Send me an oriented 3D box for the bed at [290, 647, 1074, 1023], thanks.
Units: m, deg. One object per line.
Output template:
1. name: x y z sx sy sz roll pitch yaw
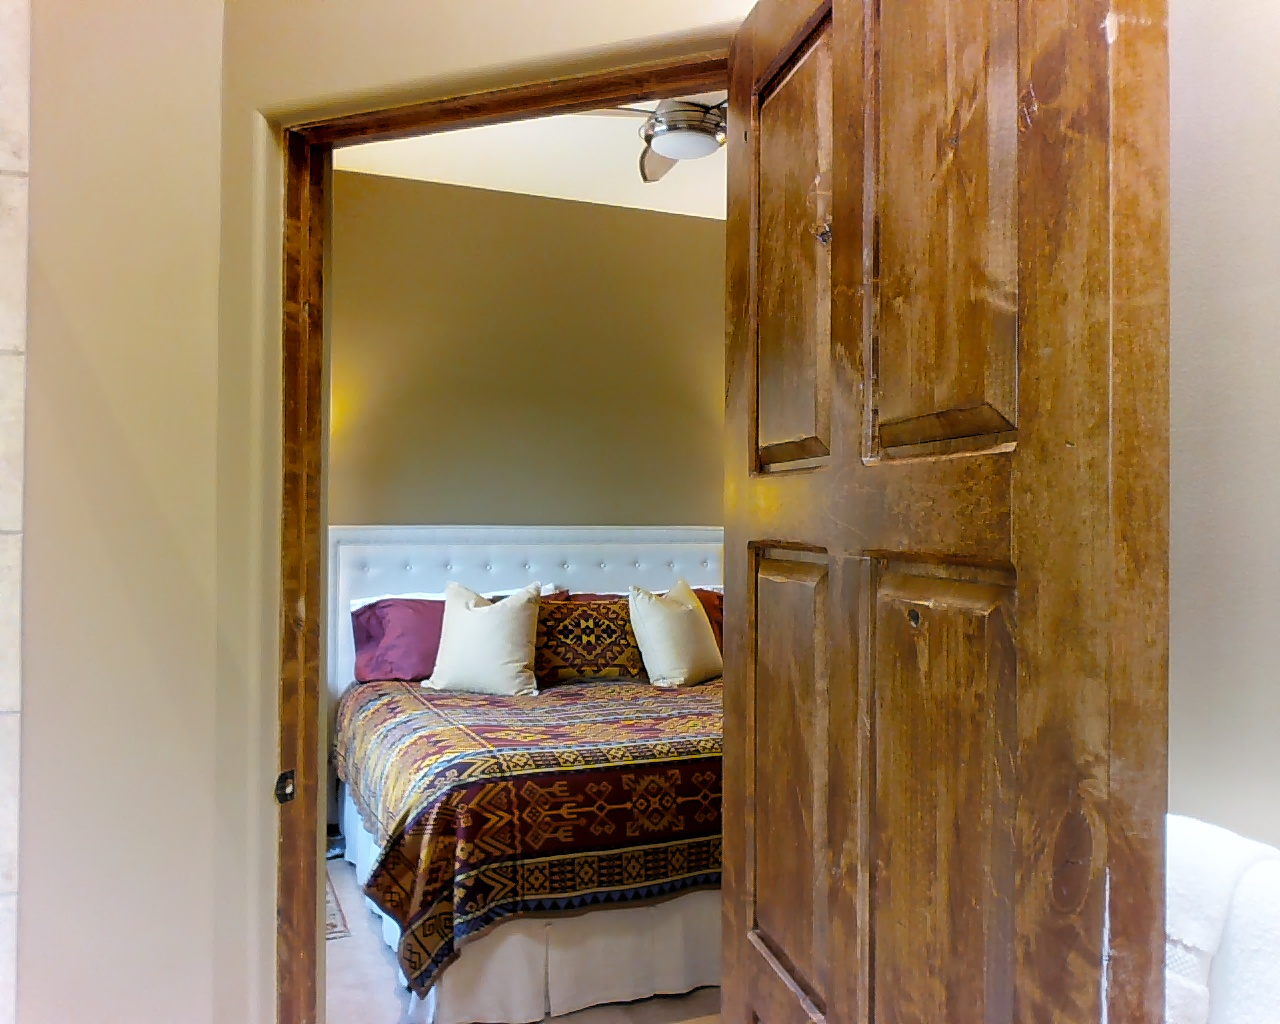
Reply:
1. bed: -0.050 1.120 4.210 2.260 0.890 2.330 2 -1 -24
